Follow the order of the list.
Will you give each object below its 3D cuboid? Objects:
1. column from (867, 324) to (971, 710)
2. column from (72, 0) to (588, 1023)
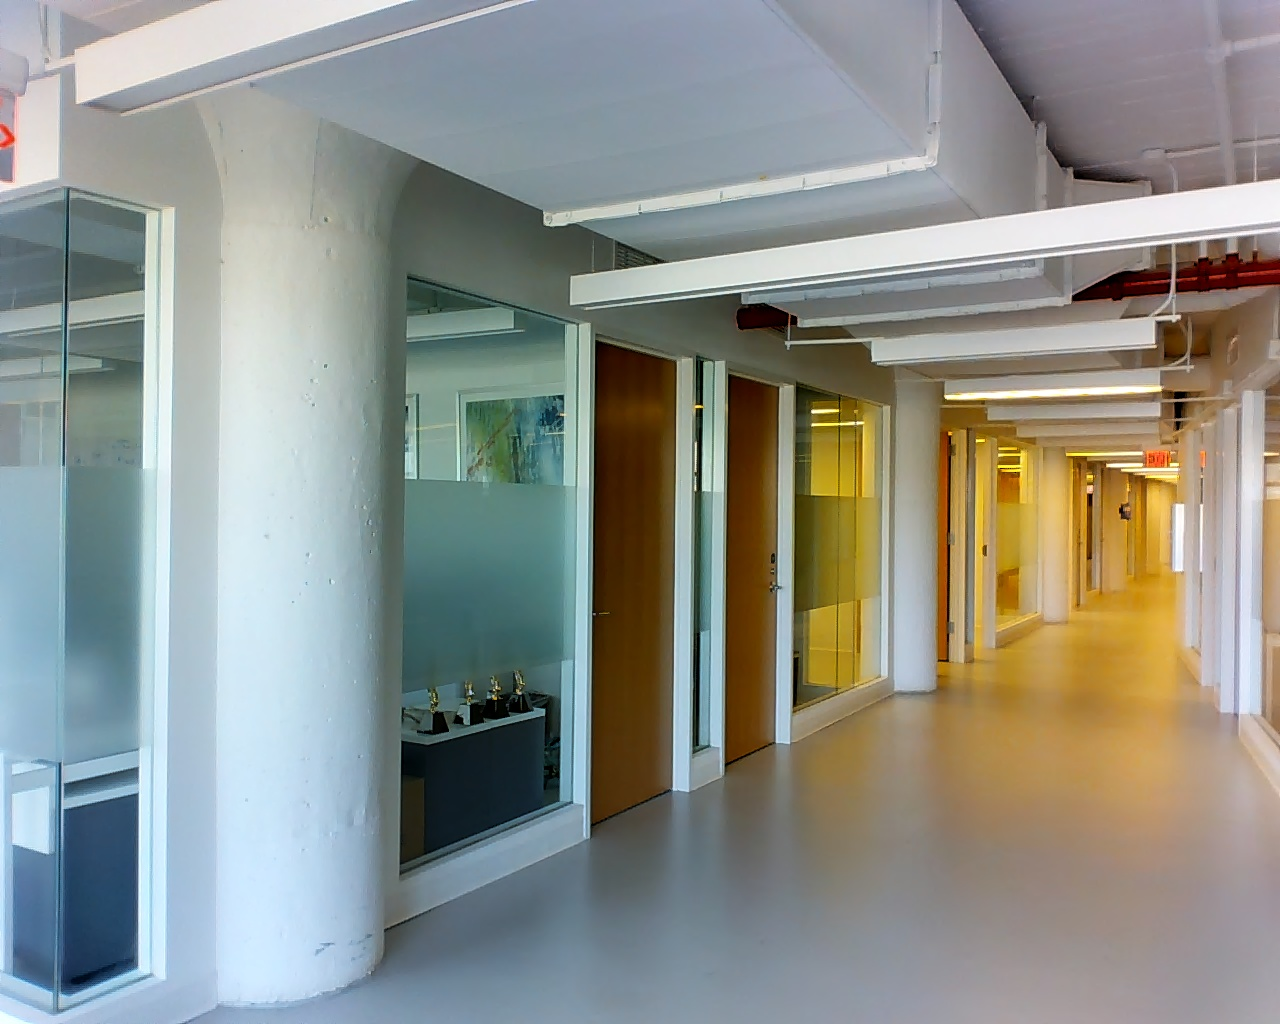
[{"bbox_3d":[2.279,0.040,8.670,0.460,2.881,1.280,0,0,30],"label":"column"},{"bbox_3d":[-0.840,-0.010,3.240,0.710,2.891,1.350,0,0,30],"label":"column"}]
